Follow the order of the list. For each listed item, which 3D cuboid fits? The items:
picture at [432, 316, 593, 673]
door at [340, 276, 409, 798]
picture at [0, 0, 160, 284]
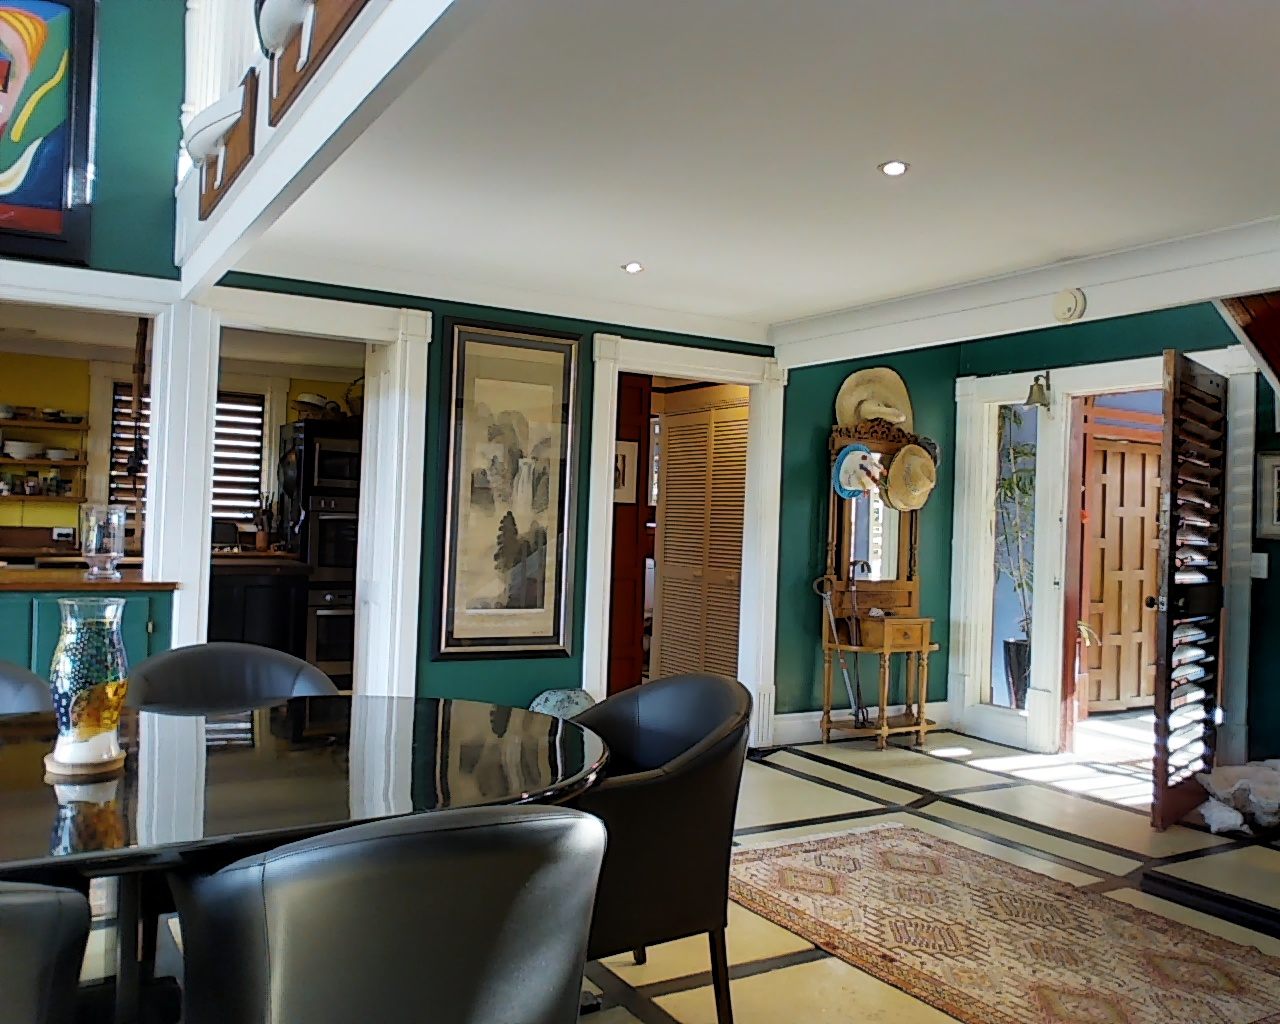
[{"bbox_3d":[-0.600,-0.070,5.170,0.770,1.651,0.040,2,-1,-31],"label":"picture"},{"bbox_3d":[-1.270,0.110,5.110,0.090,2.351,0.560,2,-1,-30],"label":"door"},{"bbox_3d":[-2.719,-1.541,3.890,1.150,1.500,0.060,-39,19,-24],"label":"picture"}]
